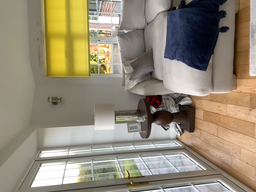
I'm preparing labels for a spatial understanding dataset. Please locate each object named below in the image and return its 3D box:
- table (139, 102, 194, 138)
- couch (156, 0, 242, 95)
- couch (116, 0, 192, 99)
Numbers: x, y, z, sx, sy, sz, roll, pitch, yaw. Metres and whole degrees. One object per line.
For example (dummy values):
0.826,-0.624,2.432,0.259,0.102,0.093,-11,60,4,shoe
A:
0.510,0.310,2.890,0.400,0.640,0.400,-166,75,-78,table
0.690,-0.520,2.310,0.910,0.470,0.930,-157,66,-77,couch
0.310,-1.610,3.160,1.090,0.820,3.190,-156,66,-77,couch
